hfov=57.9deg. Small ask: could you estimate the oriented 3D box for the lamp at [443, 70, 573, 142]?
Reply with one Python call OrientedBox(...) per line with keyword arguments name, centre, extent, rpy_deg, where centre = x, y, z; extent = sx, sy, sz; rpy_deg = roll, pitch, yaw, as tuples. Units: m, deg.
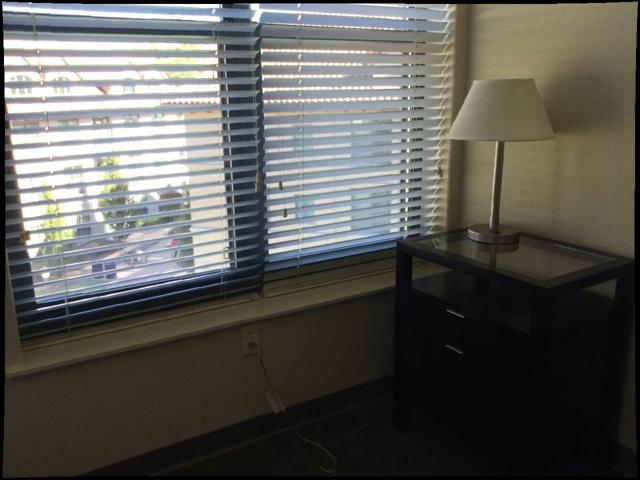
OrientedBox(name="lamp", centre=(0.639, -0.470, 1.990), extent=(0.300, 0.200, 0.290), rpy_deg=(-13, 21, -31))
